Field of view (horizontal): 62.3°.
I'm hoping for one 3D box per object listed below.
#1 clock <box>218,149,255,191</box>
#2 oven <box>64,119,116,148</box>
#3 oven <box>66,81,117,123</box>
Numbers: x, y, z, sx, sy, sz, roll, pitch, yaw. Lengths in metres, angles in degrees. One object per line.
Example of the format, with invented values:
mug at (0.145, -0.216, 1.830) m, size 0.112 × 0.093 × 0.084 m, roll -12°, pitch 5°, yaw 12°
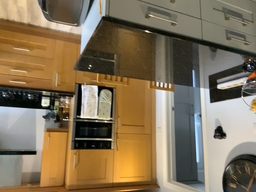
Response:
clock at (1.040, 0.800, 1.800) m, size 0.140 × 0.640 × 0.550 m, roll 6°, pitch 169°, yaw -19°
oven at (-0.580, 0.560, 3.130) m, size 0.610 × 0.370 × 0.600 m, roll 6°, pitch 168°, yaw -23°
oven at (-0.570, 0.130, 3.210) m, size 0.610 × 0.510 × 0.600 m, roll 6°, pitch 168°, yaw -23°
